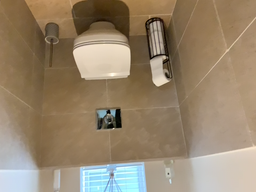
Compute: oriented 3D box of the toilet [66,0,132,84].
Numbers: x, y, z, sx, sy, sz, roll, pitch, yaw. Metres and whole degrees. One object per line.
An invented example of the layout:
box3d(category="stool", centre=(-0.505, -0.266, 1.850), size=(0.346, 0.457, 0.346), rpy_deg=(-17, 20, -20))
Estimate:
box3d(category="toilet", centre=(-0.190, -0.370, 1.560), size=(0.390, 0.370, 0.540), rpy_deg=(-4, 162, -3))
